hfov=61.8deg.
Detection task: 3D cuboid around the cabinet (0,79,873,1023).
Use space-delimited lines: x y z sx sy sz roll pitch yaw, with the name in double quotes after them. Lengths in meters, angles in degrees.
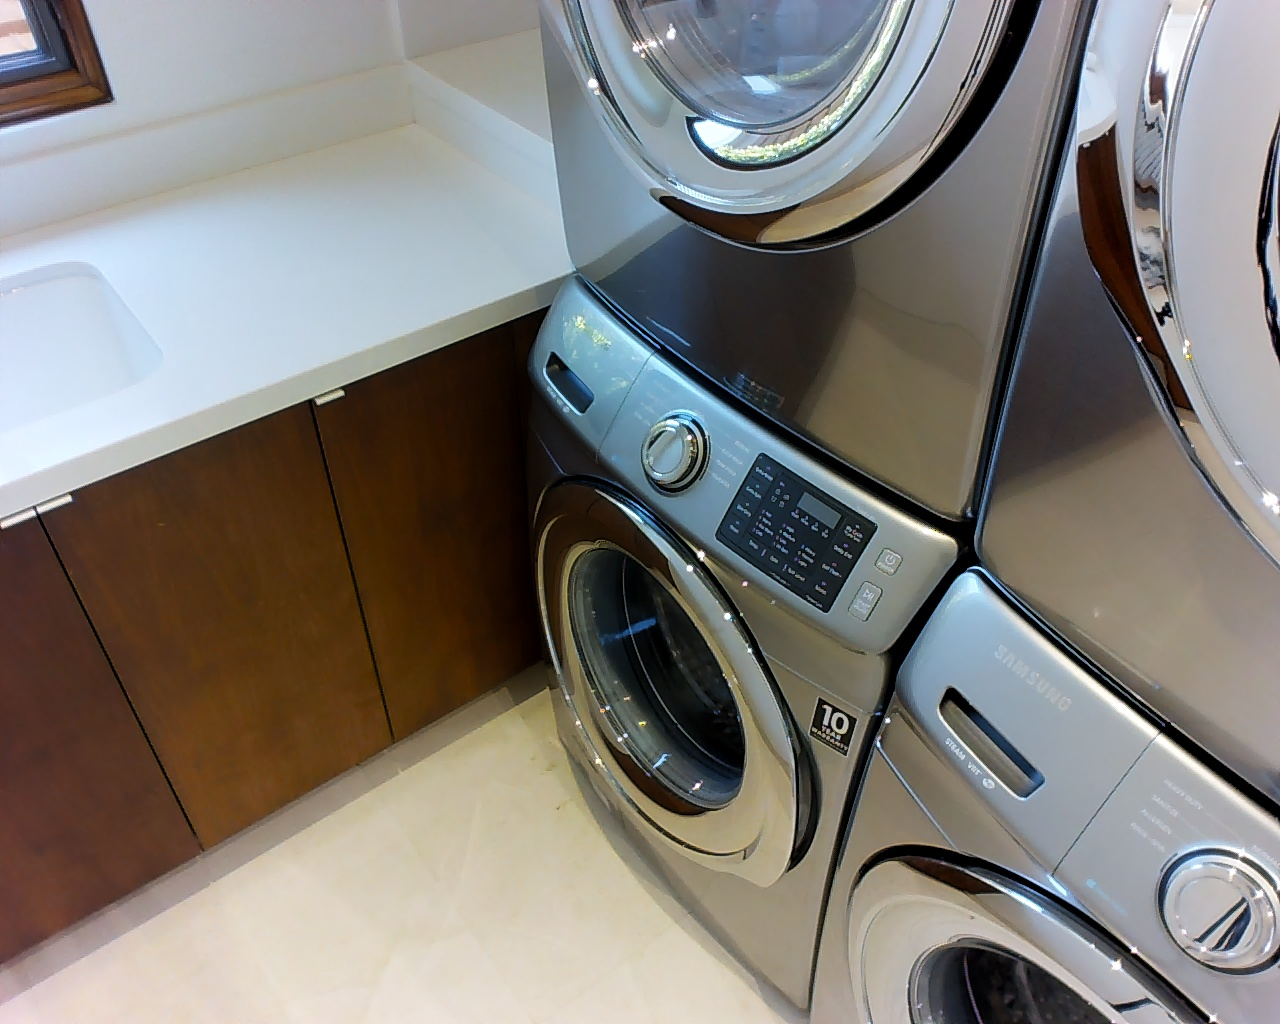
-0.620 0.020 1.860 1.990 0.890 0.720 -26 47 -26 "cabinet"
